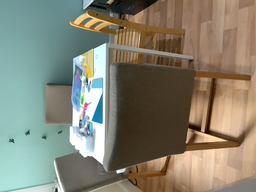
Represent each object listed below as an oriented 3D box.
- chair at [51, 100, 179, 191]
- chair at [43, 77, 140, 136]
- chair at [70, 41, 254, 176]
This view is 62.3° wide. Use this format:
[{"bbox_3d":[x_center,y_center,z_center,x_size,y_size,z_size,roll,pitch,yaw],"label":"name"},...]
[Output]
[{"bbox_3d":[-0.130,0.390,1.840,0.520,0.900,0.550,34,119,55],"label":"chair"},{"bbox_3d":[-0.400,0.090,2.300,0.590,0.890,0.510,0,90,60],"label":"chair"},{"bbox_3d":[0.190,0.030,1.270,0.570,0.910,0.510,9,98,59],"label":"chair"}]
